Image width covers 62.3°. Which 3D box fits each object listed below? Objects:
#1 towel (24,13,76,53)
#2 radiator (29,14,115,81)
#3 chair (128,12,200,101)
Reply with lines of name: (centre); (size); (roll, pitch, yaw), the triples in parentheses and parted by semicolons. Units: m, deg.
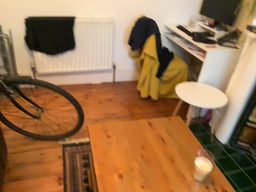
towel: (-0.810, -0.660, 2.260); (0.470, 0.380, 0.120); (-4, 35, -17)
radiator: (-0.610, -0.540, 2.440); (0.870, 0.710, 0.120); (-5, 35, -17)
chair: (0.370, -0.470, 2.570); (0.550, 0.900, 0.500); (-4, 35, -16)
